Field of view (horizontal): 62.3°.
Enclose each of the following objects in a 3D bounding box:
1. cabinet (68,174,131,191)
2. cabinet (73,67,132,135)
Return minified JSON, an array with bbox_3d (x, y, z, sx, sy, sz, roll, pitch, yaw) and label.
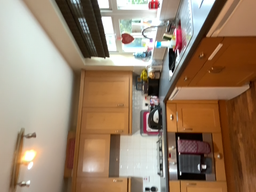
[{"bbox_3d":[-0.390,1.350,3.030,0.310,0.850,0.390,86,-175,-75],"label":"cabinet"},{"bbox_3d":[-0.370,0.080,3.380,0.290,0.850,1.050,86,-175,-75],"label":"cabinet"}]
